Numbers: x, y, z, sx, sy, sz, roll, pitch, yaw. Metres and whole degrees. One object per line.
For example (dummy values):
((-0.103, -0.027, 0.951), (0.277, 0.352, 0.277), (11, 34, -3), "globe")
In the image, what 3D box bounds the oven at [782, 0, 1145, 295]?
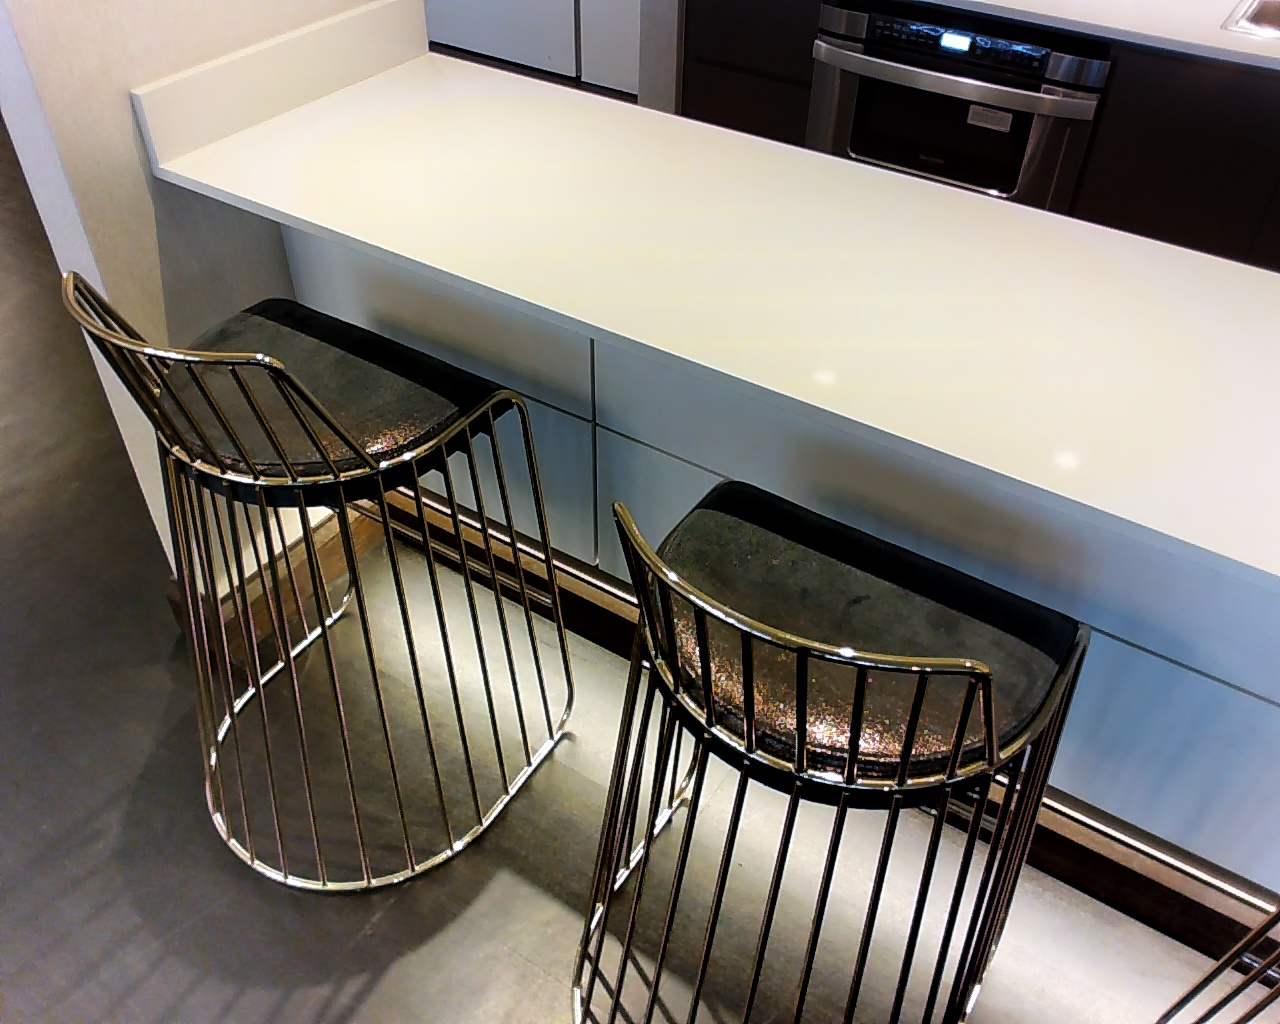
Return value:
((0.650, -0.790, 2.310), (0.680, 0.470, 0.090), (24, 46, 24), "oven")

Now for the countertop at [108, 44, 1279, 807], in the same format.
((0.410, -0.140, 1.260), (2.280, 0.200, 0.650), (24, 46, 24), "countertop")
